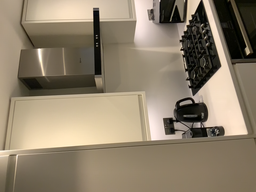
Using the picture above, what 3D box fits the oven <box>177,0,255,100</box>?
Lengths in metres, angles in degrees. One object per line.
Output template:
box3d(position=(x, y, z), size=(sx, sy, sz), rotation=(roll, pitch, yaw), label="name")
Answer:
box3d(position=(1.000, -0.410, 1.780), size=(0.650, 0.900, 0.650), rotation=(101, 165, -68), label="oven")

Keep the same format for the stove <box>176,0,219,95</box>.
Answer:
box3d(position=(0.530, -0.380, 1.720), size=(0.510, 0.040, 0.600), rotation=(101, 165, -68), label="stove")
